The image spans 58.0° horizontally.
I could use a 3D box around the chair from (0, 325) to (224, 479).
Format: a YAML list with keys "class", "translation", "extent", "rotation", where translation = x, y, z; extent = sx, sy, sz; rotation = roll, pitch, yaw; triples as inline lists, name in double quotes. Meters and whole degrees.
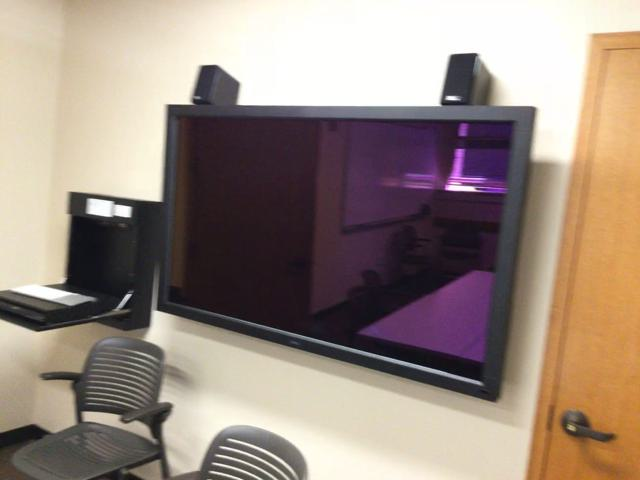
- class: "chair"
  translation: [-0.870, 0.870, 2.360]
  extent: [0.570, 0.880, 0.620]
  rotation: [9, 3, 34]
